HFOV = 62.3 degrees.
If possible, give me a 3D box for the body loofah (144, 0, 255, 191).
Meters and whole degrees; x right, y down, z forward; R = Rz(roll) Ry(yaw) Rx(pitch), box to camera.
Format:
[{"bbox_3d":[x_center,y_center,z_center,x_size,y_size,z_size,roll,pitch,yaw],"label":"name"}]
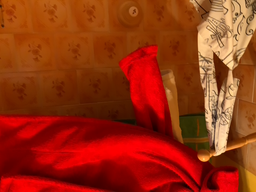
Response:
[{"bbox_3d":[0.210,-0.160,0.560,0.230,0.690,0.330,-5,-167,-16],"label":"body loofah"}]
